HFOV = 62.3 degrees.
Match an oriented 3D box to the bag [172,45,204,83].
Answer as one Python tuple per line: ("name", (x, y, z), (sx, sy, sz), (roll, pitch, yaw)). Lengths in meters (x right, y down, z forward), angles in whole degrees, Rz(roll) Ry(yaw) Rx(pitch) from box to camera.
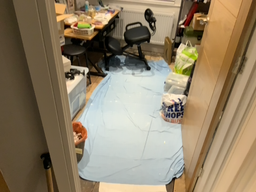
("bag", (0.800, -0.450, 2.910), (0.310, 0.340, 0.420), (6, 35, 4))

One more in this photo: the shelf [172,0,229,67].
("shelf", (1.040, -1.070, 3.080), (0.560, 1.210, 0.280), (12, 36, 12))

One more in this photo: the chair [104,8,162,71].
("chair", (0.030, -0.800, 3.020), (0.700, 0.740, 0.470), (-3, 35, -8))
